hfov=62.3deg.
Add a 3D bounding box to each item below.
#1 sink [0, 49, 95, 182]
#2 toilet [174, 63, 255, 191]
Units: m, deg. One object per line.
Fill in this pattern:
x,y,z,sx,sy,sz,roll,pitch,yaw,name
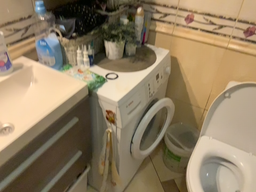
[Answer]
-0.480,0.050,0.770,0.430,0.110,0.610,22,42,20,sink
0.540,0.360,1.200,0.370,0.820,0.650,20,40,19,toilet
